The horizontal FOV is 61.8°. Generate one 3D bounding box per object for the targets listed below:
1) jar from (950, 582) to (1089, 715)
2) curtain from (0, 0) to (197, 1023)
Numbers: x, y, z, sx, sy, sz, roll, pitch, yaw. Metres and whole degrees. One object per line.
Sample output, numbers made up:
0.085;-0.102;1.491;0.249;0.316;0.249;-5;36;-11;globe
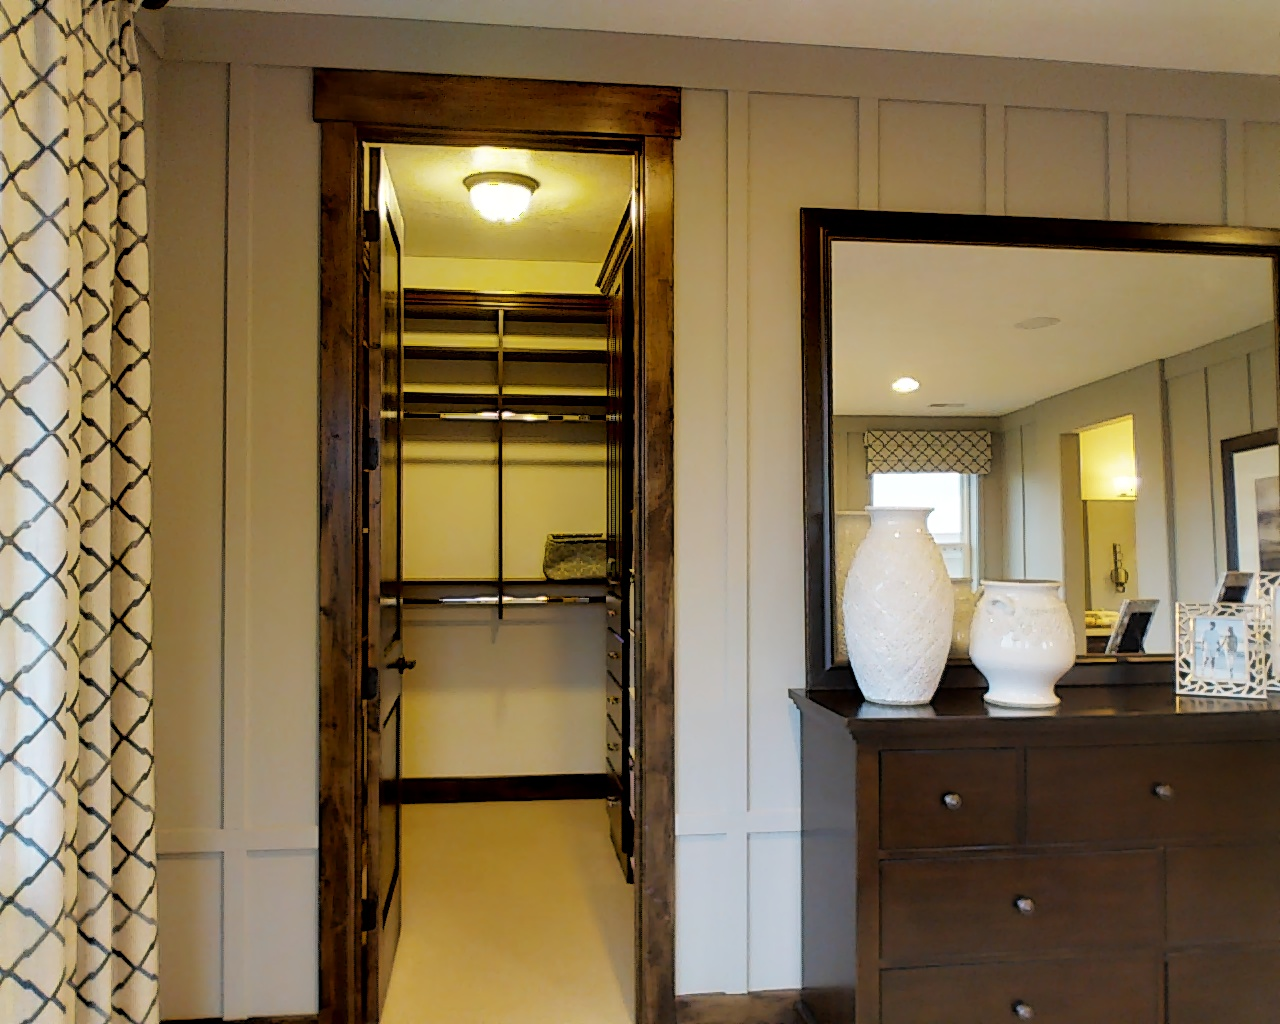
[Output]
0.960;0.340;2.730;0.250;0.310;0.250;0;-1;-6;jar
-1.040;0.050;1.980;0.210;2.700;0.680;0;-1;-7;curtain
